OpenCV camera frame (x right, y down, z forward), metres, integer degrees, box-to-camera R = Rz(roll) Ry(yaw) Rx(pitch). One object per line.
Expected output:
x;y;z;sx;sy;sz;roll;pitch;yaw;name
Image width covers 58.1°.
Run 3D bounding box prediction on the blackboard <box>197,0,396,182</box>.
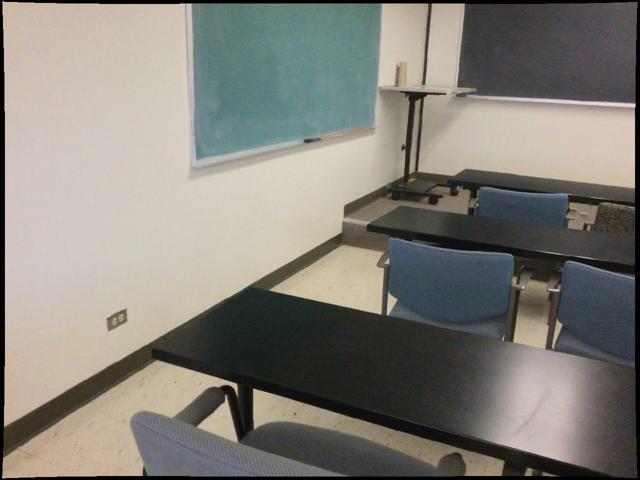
0.010;-1.263;3.720;0.130;1.363;2.369;10;20;25;blackboard
